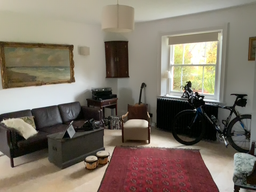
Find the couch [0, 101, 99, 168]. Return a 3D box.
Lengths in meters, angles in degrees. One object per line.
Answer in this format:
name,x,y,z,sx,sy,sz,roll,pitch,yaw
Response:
couch,-1.510,0.610,4.150,0.870,0.740,1.720,8,11,41

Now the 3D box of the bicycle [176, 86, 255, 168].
bicycle,1.610,0.470,3.950,0.610,1.160,1.220,-9,13,-43

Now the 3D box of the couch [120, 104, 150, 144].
couch,0.160,0.560,4.490,0.570,0.680,0.670,1,8,4
